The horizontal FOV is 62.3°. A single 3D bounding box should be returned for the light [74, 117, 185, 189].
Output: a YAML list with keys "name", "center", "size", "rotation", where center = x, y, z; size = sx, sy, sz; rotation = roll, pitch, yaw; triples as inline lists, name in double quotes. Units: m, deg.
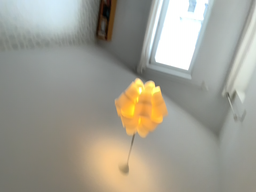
- name: "light"
  center: [0.040, 0.440, 1.670]
  size: [0.740, 0.360, 0.400]
  rotation: [-6, -164, 11]

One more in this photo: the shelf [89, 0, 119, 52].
- name: "shelf"
  center: [-0.330, -1.830, 3.700]
  size: [0.290, 2.060, 0.300]
  rotation: [17, -161, 14]
